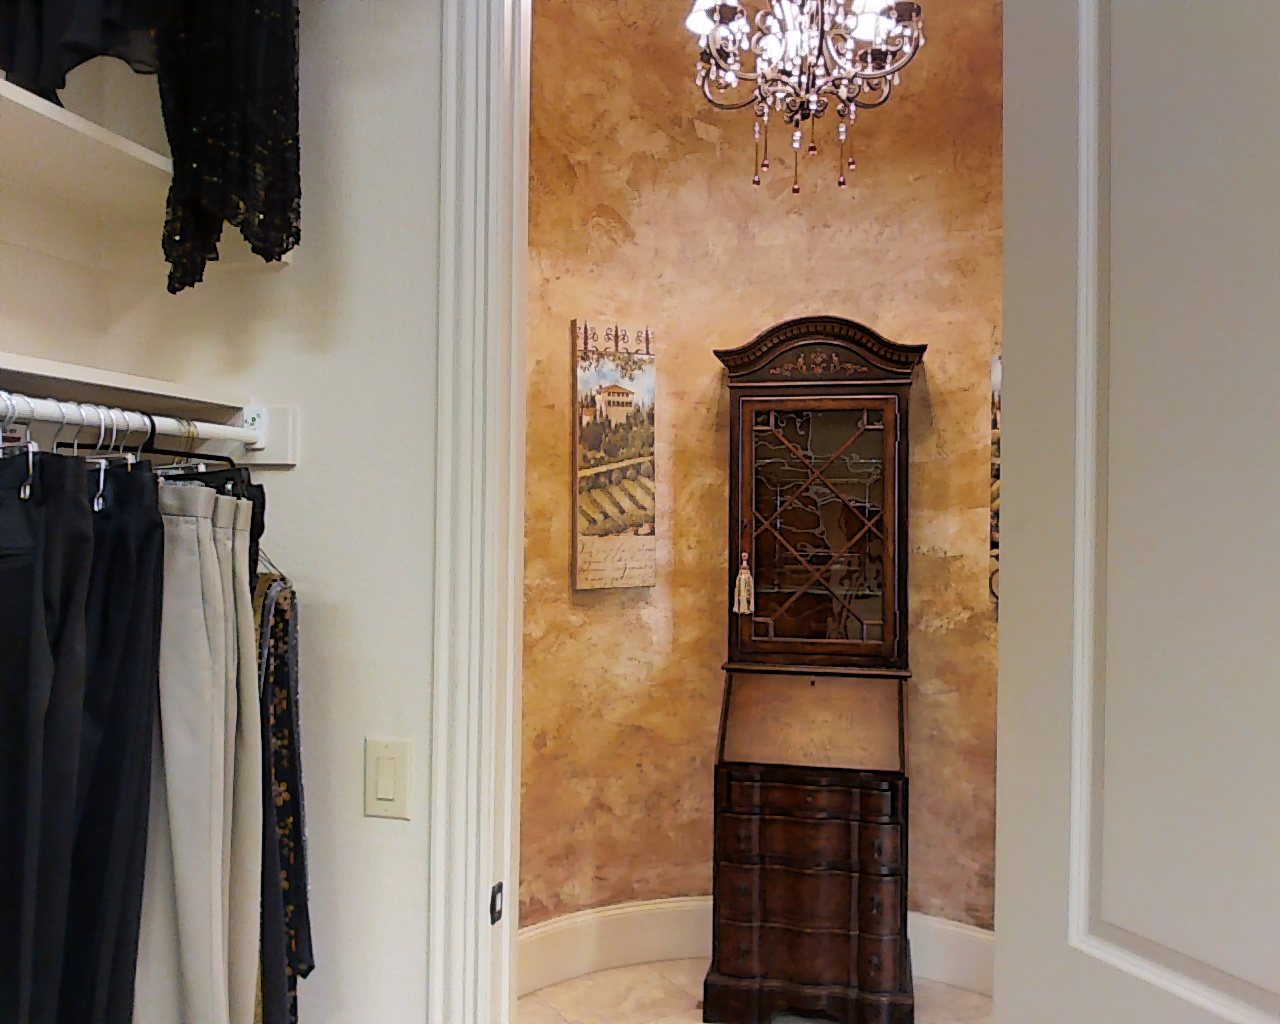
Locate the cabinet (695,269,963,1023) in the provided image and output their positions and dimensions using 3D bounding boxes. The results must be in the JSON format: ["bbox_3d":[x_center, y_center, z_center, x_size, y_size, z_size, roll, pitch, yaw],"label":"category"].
[{"bbox_3d":[0.600,0.440,3.440,0.730,2.291,0.570,1,0,11],"label":"cabinet"}]

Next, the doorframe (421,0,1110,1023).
[{"bbox_3d":[0.160,0.260,1.580,0.910,2.621,0.250,1,0,16],"label":"doorframe"}]

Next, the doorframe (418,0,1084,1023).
[{"bbox_3d":[0.140,0.270,1.590,0.900,2.551,0.210,1,0,16],"label":"doorframe"}]
